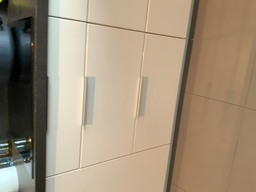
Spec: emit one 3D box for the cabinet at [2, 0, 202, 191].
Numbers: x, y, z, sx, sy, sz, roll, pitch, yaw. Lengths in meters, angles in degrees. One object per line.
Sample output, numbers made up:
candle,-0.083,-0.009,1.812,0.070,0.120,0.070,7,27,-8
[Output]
cabinet,-0.160,-0.140,1.170,0.580,0.840,1.640,21,109,50
